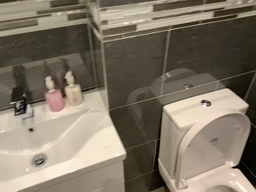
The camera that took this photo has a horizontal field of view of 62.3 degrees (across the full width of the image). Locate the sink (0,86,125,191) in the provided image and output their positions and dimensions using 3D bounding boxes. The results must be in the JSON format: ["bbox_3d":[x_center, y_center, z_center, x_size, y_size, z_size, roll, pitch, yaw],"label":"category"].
[{"bbox_3d":[-0.380,0.200,0.830,0.630,0.140,0.400,-14,41,-16],"label":"sink"}]

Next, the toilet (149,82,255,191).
[{"bbox_3d":[0.430,0.480,1.080,0.380,0.850,0.600,-14,41,-16],"label":"toilet"}]
